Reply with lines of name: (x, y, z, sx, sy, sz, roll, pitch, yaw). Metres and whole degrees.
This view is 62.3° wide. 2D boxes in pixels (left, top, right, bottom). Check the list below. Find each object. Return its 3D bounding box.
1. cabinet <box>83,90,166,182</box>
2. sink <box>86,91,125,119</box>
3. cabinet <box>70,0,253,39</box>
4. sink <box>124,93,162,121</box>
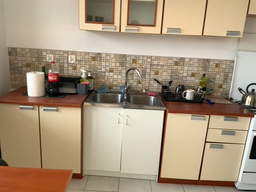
cabinet: (-0.050, 0.420, 2.390, 0.790, 0.830, 0.520, 4, 15, 0)
sink: (-0.230, 0.090, 2.320, 0.380, 0.170, 0.410, 4, 15, 0)
cabinet: (0.310, -0.930, 2.130, 1.700, 0.590, 0.320, 4, 15, 0)
sink: (0.150, 0.110, 2.320, 0.370, 0.170, 0.410, 4, 15, 0)
